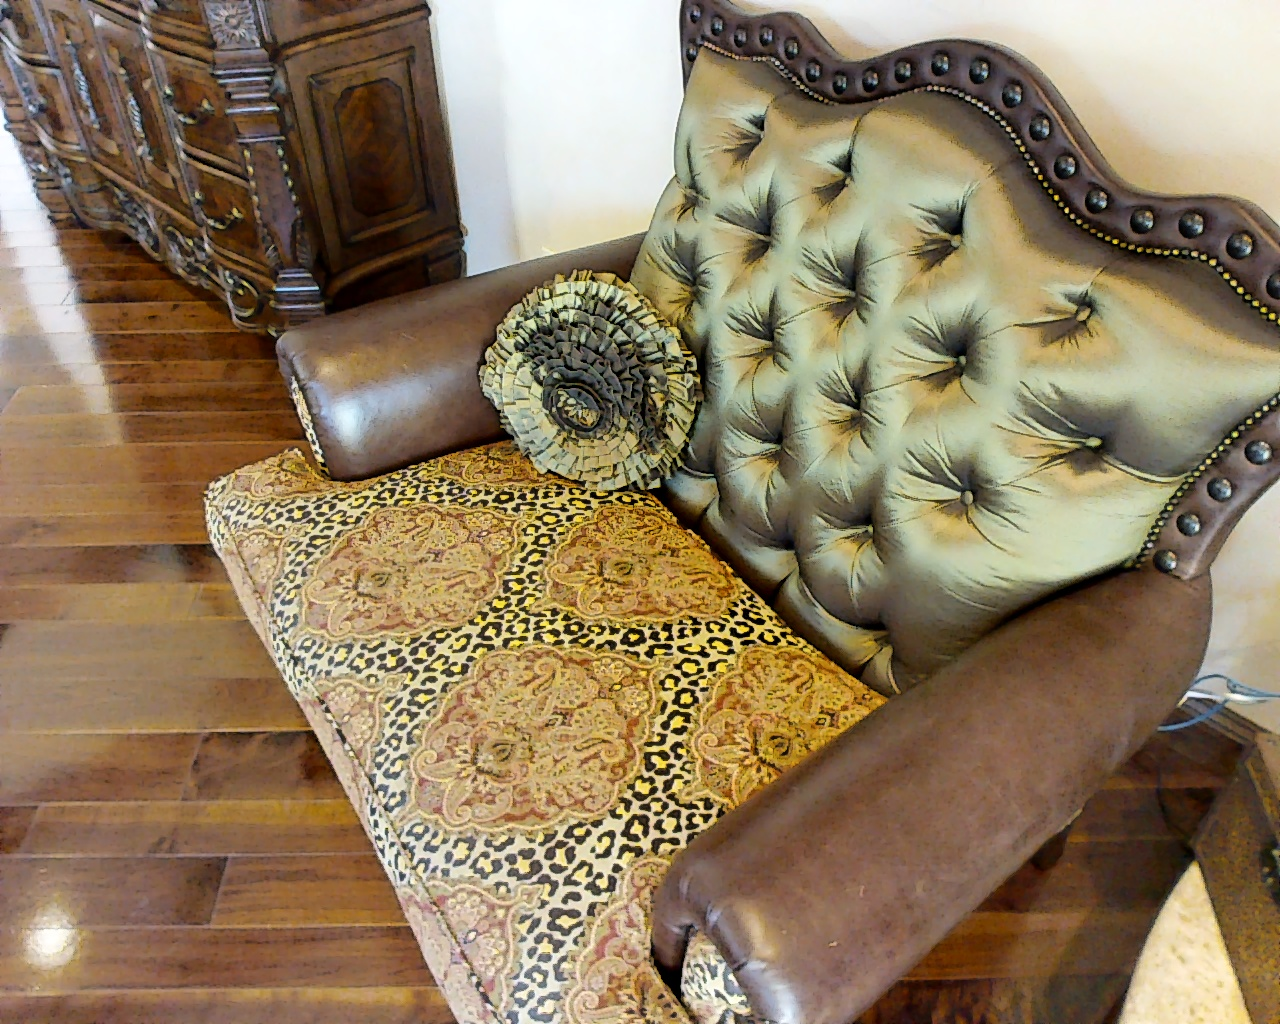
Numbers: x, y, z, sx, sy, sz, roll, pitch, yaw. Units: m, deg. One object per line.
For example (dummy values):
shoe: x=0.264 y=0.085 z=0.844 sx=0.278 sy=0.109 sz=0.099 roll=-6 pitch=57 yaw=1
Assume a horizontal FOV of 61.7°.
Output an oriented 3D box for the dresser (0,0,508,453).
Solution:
dresser: x=-1.190 y=-1.560 z=2.440 sx=1.750 sy=2.340 sz=0.580 roll=33 pitch=51 yaw=31

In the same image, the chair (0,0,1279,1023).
chair: x=0.040 y=0.020 z=1.550 sx=1.350 sy=1.140 sz=1.510 roll=-24 pitch=47 yaw=-24
